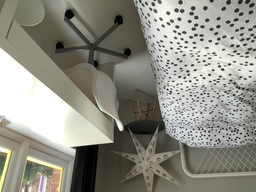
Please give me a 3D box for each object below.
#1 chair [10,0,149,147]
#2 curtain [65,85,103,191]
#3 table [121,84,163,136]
[{"bbox_3d":[-0.310,-0.120,1.630,0.660,0.790,0.650,-19,147,30],"label":"chair"},{"bbox_3d":[-0.420,1.020,1.910,0.130,2.350,0.410,-8,151,13],"label":"curtain"},{"bbox_3d":[0.180,0.190,2.600,0.390,0.420,0.510,-9,151,14],"label":"table"}]
